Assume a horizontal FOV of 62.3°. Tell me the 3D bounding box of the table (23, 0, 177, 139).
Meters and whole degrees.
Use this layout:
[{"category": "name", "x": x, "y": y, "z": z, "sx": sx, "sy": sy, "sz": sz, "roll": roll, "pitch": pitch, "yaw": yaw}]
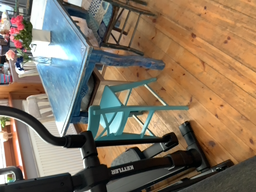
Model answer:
[{"category": "table", "x": -0.480, "y": -0.530, "z": 2.190, "sx": 1.740, "sy": 0.770, "sz": 0.810, "roll": 53, "pitch": 130, "yaw": 39}]
